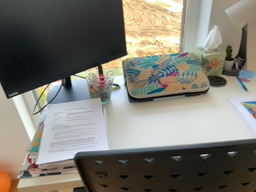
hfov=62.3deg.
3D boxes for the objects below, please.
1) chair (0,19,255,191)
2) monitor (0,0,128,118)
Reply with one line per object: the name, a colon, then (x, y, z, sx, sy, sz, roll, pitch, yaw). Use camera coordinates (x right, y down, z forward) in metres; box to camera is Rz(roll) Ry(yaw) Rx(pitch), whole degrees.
chair: (0.080, 0.360, 0.780, 0.700, 1.030, 0.680, -4, 35, -1)
monitor: (-0.230, -0.200, 0.840, 0.530, 0.420, 0.040, -25, 38, -30)
